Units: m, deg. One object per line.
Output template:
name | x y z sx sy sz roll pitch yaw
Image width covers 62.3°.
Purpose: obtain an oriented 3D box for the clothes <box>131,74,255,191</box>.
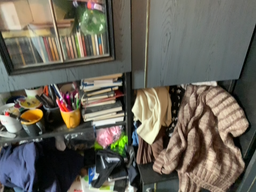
clothes | 0.250 0.210 0.960 0.410 0.480 0.330 -7 35 -9
